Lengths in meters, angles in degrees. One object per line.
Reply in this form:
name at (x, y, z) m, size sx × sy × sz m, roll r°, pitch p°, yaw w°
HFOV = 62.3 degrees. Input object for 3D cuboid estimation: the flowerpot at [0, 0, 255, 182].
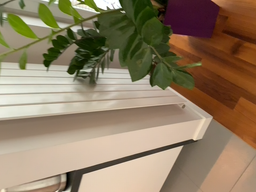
flowerpot at (0.080, -0.570, 0.880) m, size 1.090 × 1.050 × 1.020 m, roll 43°, pitch 123°, yaw 40°
